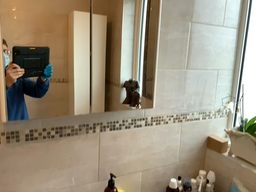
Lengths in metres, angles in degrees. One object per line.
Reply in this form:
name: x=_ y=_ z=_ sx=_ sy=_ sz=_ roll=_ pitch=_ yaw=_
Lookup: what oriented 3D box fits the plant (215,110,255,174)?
plant: x=0.670 y=0.240 z=1.180 sx=0.170 sy=0.260 sz=0.270 roll=-3 pitch=12 yaw=-27
